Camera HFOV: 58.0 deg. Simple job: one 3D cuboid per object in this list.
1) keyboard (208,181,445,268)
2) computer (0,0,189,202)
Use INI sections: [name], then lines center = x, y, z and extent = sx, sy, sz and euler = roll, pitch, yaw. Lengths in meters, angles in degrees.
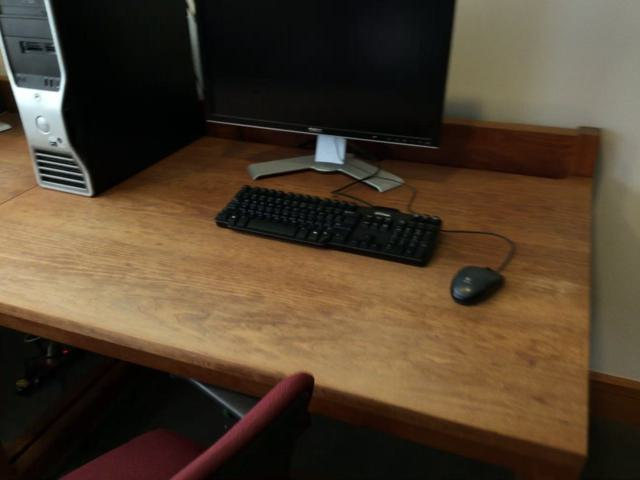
[keyboard]
center = 0.010, -0.040, 1.140
extent = 0.440, 0.050, 0.150
euler = 11, 27, 19
[computer]
center = -0.530, -0.390, 1.370
extent = 0.200, 0.460, 0.420
euler = 10, 27, 19
